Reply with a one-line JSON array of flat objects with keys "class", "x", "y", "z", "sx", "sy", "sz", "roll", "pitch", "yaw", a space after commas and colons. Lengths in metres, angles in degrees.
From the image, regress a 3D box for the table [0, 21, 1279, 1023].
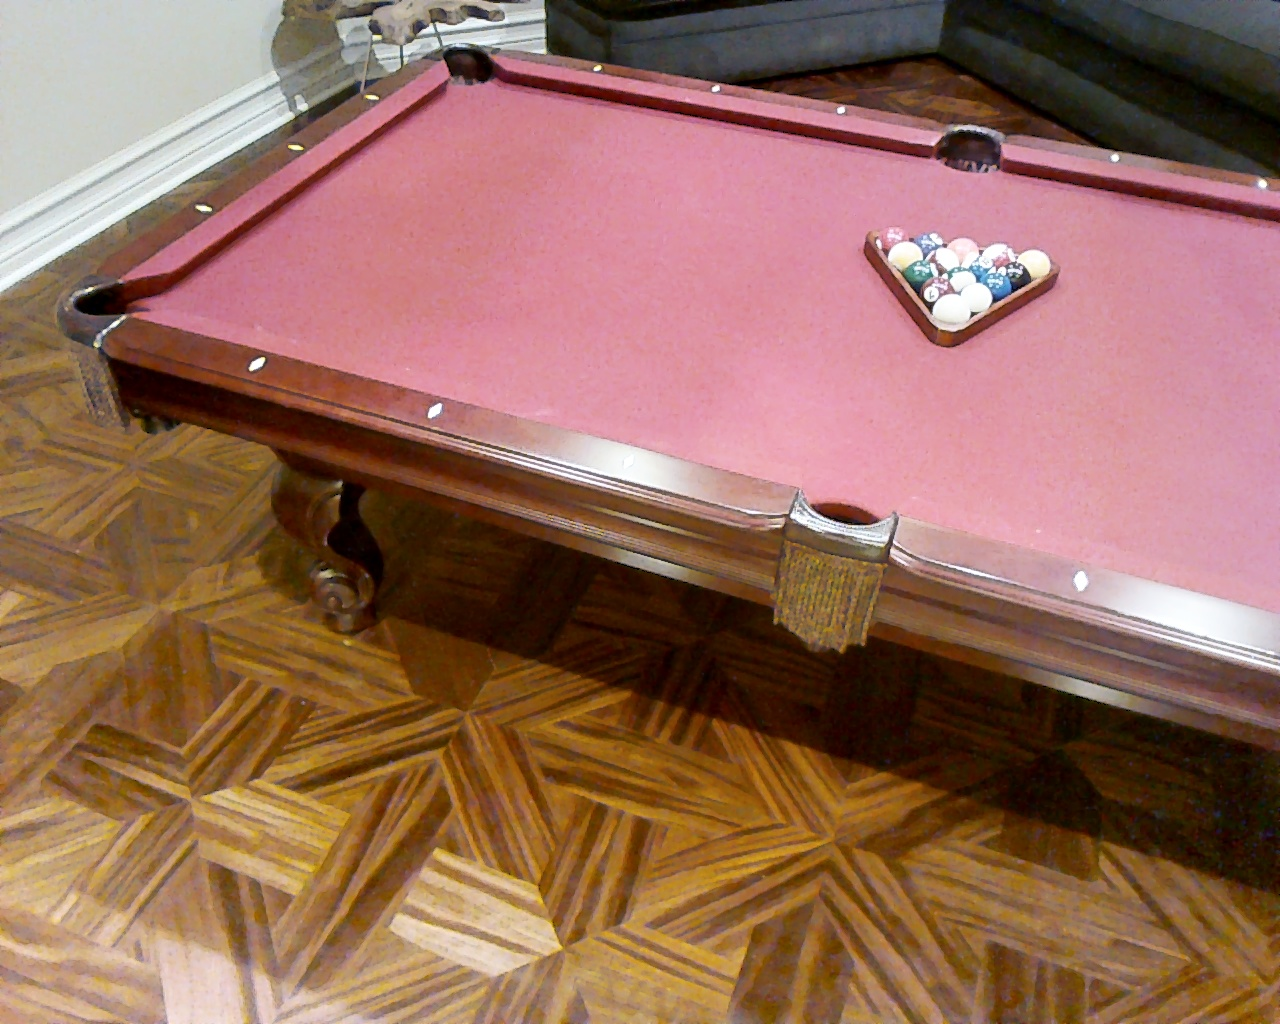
[{"class": "table", "x": 0.510, "y": -0.100, "z": 2.070, "sx": 2.640, "sy": 0.830, "sz": 1.450, "roll": 16, "pitch": 43, "yaw": 14}]
